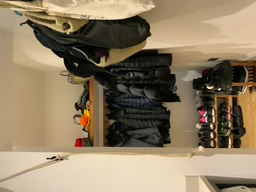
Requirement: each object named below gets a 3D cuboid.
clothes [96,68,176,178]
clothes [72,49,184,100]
[{"bbox_3d":[0.110,0.340,2.850,0.450,0.970,1.350,-11,-80,-86],"label":"clothes"},{"bbox_3d":[0.030,-0.160,2.400,1.320,0.920,0.410,17,-108,-86],"label":"clothes"}]
